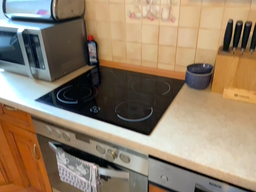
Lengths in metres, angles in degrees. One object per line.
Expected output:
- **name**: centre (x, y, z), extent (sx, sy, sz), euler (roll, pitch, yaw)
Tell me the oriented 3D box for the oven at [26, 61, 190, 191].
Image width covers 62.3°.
- **oven**: centre (-0.050, 0.340, 1.260), extent (0.590, 0.860, 0.590), euler (13, 32, 24)
